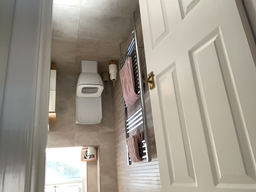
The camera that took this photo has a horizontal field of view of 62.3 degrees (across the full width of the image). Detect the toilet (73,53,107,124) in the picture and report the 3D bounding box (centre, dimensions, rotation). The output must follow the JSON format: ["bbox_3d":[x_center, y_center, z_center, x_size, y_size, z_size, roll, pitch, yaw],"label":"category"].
[{"bbox_3d":[-0.560,-0.070,2.960,0.370,0.810,0.610,1,160,-17],"label":"toilet"}]

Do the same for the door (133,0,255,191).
[{"bbox_3d":[0.290,-0.090,1.030,0.090,1.720,0.720,4,159,-25],"label":"door"}]

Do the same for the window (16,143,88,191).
[{"bbox_3d":[-1.090,1.240,3.120,0.950,1.000,0.300,2,160,-20],"label":"window"}]
